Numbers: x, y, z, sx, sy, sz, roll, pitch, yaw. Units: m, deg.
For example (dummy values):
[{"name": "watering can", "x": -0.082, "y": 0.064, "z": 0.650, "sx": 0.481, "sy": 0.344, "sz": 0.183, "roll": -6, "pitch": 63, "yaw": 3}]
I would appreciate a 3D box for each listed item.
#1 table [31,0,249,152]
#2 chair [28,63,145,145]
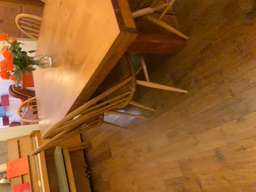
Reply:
[{"name": "table", "x": -0.280, "y": -0.290, "z": 1.870, "sx": 2.010, "sy": 0.770, "sz": 1.010, "roll": -43, "pitch": 58, "yaw": 52}, {"name": "chair", "x": -0.400, "y": 0.050, "z": 1.990, "sx": 0.460, "sy": 0.890, "sz": 0.540, "roll": -44, "pitch": 57, "yaw": 52}]
